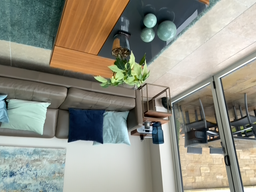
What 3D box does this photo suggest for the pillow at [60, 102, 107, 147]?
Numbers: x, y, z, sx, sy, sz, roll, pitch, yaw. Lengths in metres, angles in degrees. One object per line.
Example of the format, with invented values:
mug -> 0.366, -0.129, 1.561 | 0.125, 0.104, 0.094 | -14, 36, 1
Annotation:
pillow -> -0.620, 0.390, 2.930 | 0.460, 0.460, 0.210 | -21, 172, -26

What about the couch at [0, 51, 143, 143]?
couch -> -1.310, 0.060, 2.620 | 2.890, 0.750, 0.890 | 9, 156, -24

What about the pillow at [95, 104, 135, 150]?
pillow -> -0.190, 0.440, 2.970 | 0.360, 0.520, 0.220 | -21, 171, -16

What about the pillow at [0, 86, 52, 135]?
pillow -> -1.270, 0.180, 2.660 | 0.420, 0.410, 0.270 | -28, 175, -31

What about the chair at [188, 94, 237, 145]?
chair -> 1.470, 0.440, 3.770 | 0.500, 0.750, 0.490 | 9, 156, -23
